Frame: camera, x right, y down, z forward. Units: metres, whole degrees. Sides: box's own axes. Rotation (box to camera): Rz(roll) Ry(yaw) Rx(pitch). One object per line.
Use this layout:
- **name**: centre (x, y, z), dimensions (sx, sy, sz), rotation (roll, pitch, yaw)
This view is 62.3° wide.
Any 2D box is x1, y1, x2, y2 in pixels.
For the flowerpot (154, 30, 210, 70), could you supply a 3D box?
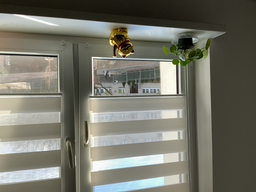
- **flowerpot**: centre (0.320, -0.270, 1.290), dimensions (0.250, 0.180, 0.210), rotation (0, 178, -16)
